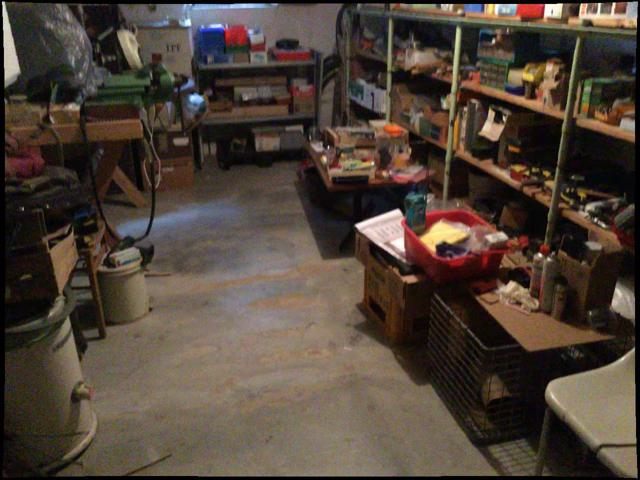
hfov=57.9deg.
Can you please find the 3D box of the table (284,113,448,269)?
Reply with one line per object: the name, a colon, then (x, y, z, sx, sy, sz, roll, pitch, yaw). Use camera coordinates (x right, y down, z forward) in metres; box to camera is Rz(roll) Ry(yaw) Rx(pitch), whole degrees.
table: (0.230, -0.390, 3.800, 0.659, 0.570, 1.270, -8, 25, -13)
